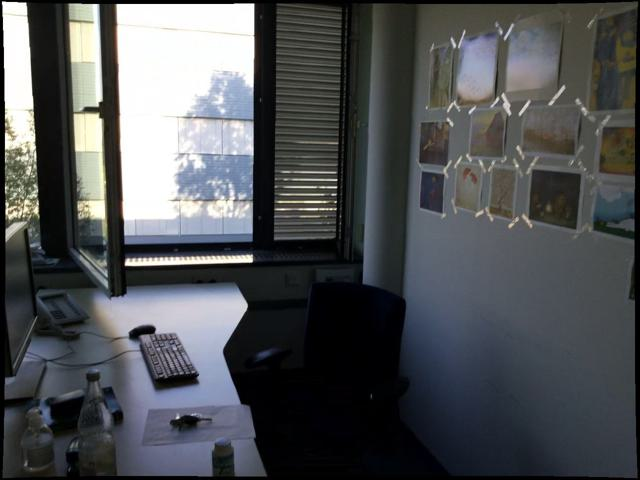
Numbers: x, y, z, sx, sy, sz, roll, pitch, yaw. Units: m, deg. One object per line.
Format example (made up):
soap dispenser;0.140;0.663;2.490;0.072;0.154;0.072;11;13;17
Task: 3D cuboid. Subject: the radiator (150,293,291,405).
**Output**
radiator;-0.589;0.631;3.440;0.779;0.500;0.280;-3;13;-18

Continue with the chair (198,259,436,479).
chair;0.000;0.641;2.400;0.709;0.921;0.650;8;14;31

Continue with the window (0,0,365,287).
window;-1.379;-0.611;3.160;3.317;1.652;0.320;-3;13;-17
